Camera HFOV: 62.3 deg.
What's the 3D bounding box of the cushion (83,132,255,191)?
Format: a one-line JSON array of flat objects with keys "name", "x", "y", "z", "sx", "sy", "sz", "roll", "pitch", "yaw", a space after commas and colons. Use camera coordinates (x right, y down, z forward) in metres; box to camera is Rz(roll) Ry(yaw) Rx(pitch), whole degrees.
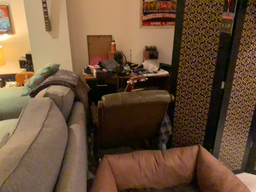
[{"name": "cushion", "x": 0.250, "y": 0.750, "z": 1.410, "sx": 1.050, "sy": 0.400, "sz": 1.150, "roll": -4, "pitch": 21, "yaw": -8}]
